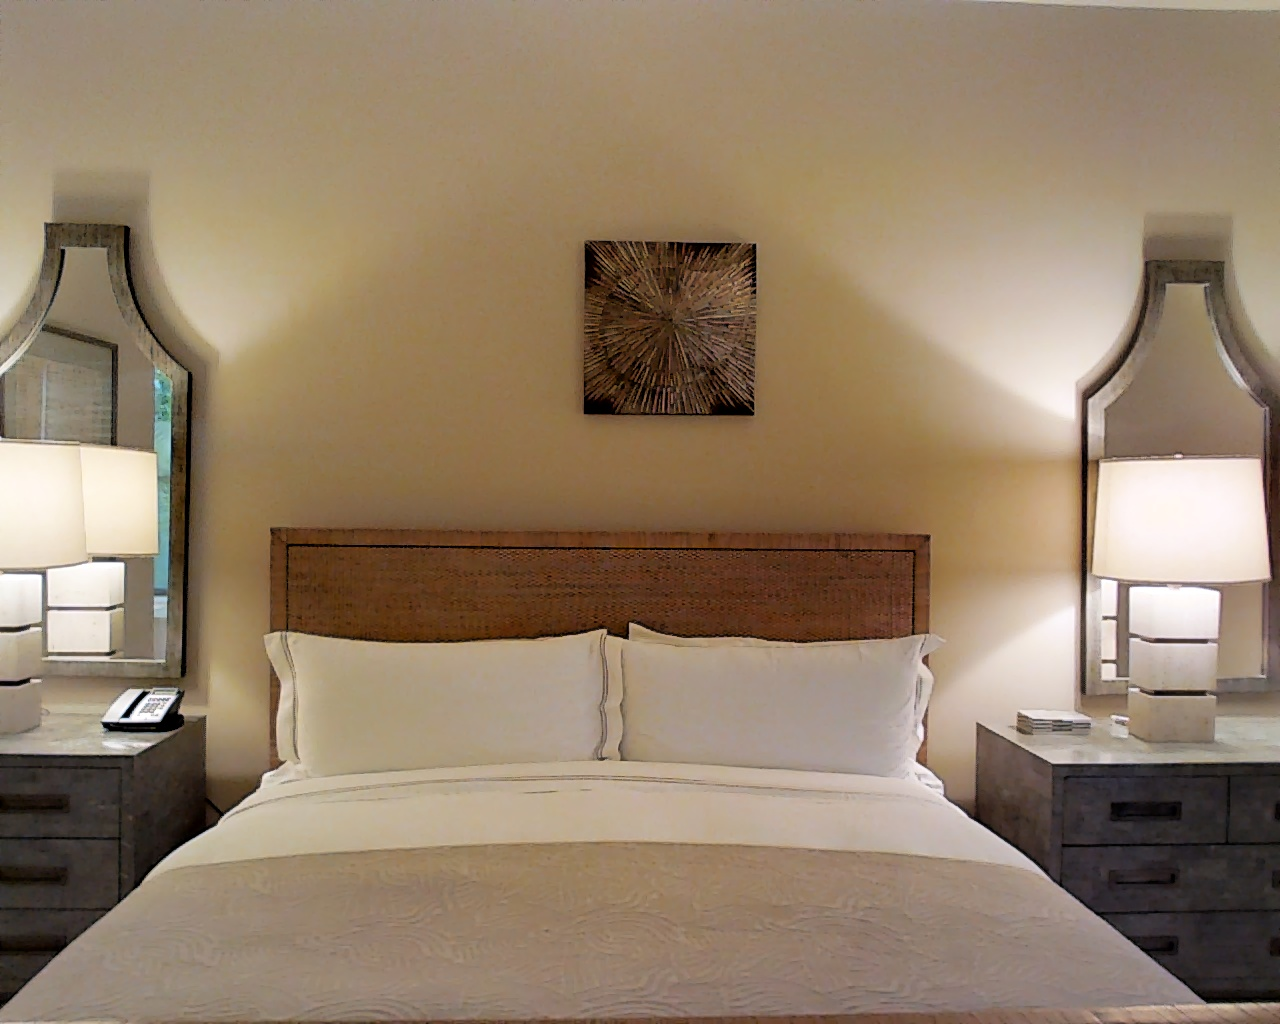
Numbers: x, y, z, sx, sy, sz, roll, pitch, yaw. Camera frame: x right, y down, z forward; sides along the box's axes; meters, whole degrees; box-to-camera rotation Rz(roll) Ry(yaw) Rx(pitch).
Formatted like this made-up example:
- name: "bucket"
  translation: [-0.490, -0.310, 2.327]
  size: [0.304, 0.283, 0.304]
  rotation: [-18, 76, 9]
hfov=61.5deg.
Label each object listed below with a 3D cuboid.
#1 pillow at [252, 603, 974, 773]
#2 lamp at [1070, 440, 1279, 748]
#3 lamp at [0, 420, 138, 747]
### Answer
- name: "pillow"
  translation: [-0.070, 0.500, 3.150]
  size: [1.950, 0.400, 0.470]
  rotation: [1, 1, -2]
- name: "lamp"
  translation: [1.660, 0.230, 3.260]
  size: [0.490, 0.860, 0.470]
  rotation: [1, 1, -4]
- name: "lamp"
  translation: [-1.820, 0.190, 3.160]
  size: [0.470, 0.890, 0.480]
  rotation: [1, 1, -2]
